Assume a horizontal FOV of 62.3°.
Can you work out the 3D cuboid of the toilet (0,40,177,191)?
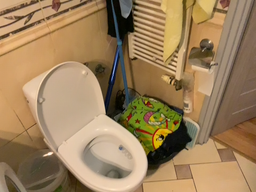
[{"bbox_3d":[-0.170,0.240,1.160,0.660,0.810,0.400,30,53,30],"label":"toilet"}]
